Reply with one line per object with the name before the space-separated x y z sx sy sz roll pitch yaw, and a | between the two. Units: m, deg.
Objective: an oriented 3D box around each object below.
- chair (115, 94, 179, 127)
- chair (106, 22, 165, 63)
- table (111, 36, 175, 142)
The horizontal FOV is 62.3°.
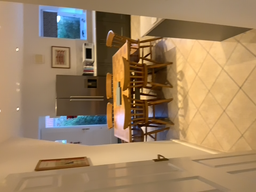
chair | 0.270 0.210 3.260 0.550 0.820 0.440 168 100 -73
chair | 0.110 -0.880 3.630 0.520 0.880 0.510 170 98 -73
table | 0.200 -0.090 3.610 0.940 0.750 1.530 168 100 -73
